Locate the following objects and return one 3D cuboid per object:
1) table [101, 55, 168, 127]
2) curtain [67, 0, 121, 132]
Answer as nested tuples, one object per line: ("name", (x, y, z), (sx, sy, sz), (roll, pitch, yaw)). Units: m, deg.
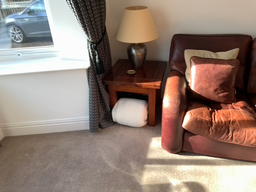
("table", (0.110, -0.090, 2.440), (0.600, 0.540, 0.630), (6, 32, 14))
("curtain", (-0.300, -0.740, 1.900), (0.160, 2.280, 0.570), (6, 33, 15))
